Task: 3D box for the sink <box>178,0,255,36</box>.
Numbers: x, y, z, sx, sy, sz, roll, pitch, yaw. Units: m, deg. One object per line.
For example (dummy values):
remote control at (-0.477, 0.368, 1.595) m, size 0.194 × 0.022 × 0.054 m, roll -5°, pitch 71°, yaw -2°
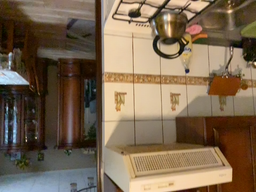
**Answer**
sink at (0.610, -0.580, 1.360) m, size 0.390 × 0.190 × 0.440 m, roll 1°, pitch 174°, yaw -18°
